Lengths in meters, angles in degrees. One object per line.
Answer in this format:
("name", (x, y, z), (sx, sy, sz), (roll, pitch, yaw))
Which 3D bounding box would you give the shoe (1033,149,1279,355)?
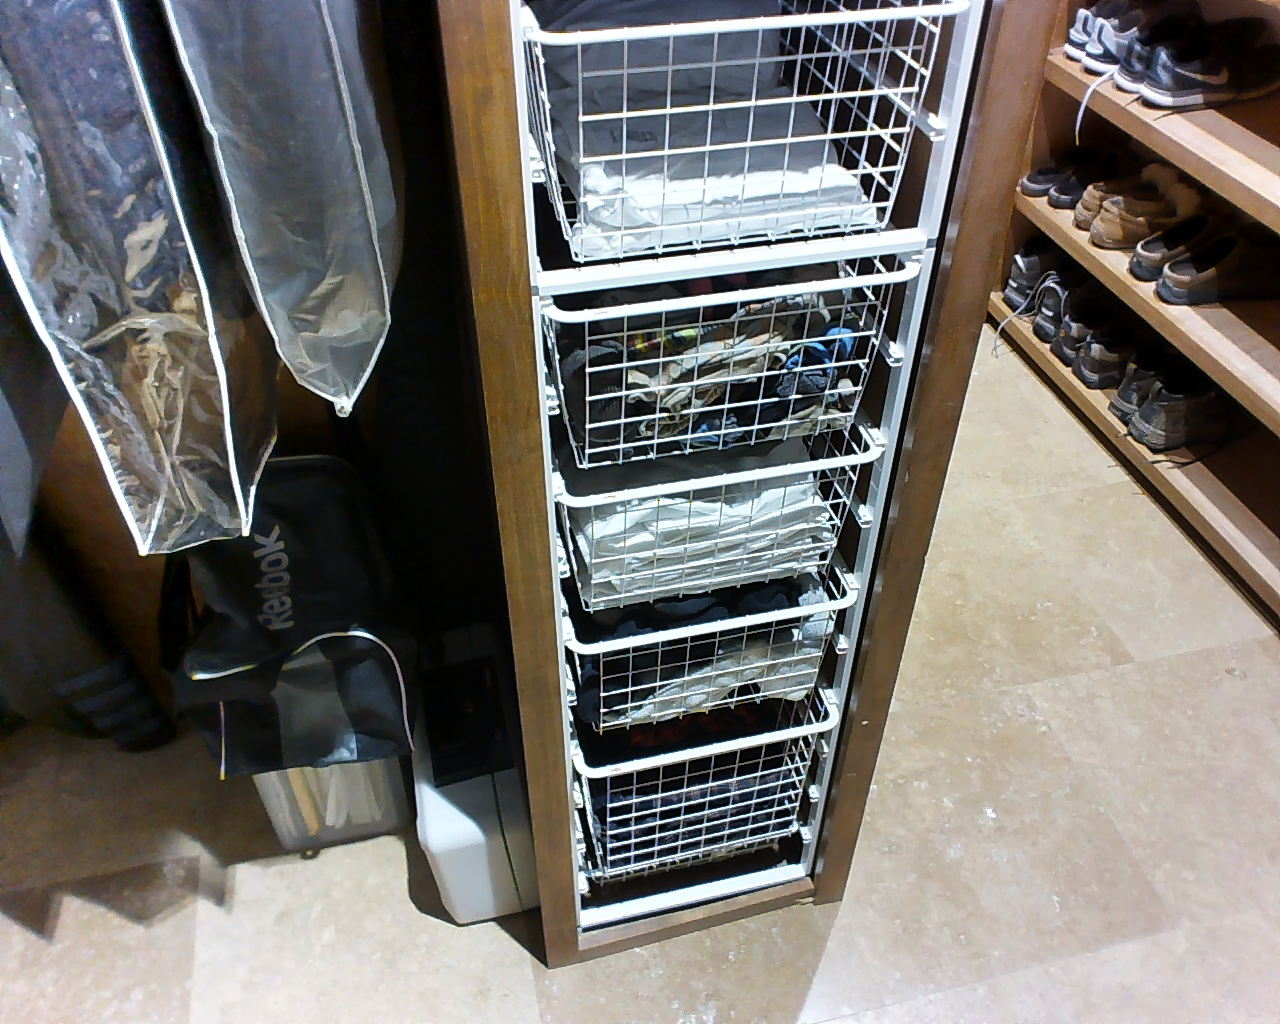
("shoe", (1.100, -0.550, 2.200), (0.310, 0.180, 0.490), (-10, 42, -12))

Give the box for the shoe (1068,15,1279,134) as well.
("shoe", (1.060, -0.870, 2.120), (0.310, 0.140, 0.200), (-10, 42, -12))

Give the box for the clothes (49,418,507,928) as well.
("clothes", (-0.470, 0.200, 1.480), (0.460, 0.390, 0.480), (-10, 42, -12))

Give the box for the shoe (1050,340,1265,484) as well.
("shoe", (1.090, -0.220, 2.280), (0.270, 0.120, 0.300), (-10, 42, -12))
